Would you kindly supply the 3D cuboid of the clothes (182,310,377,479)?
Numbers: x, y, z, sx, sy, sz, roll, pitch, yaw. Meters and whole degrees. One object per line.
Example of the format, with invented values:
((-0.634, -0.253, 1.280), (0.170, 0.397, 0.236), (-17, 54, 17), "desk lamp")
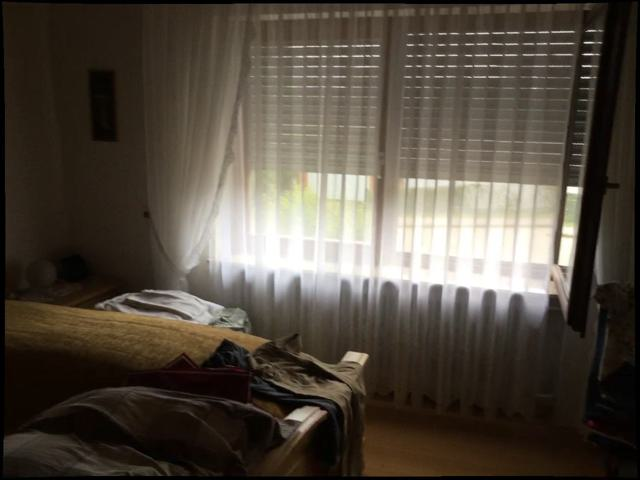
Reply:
((-0.130, 0.701, 2.320), (0.609, 0.641, 0.500), (4, 15, 19), "clothes")

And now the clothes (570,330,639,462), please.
((1.229, 0.571, 2.110), (0.510, 0.250, 0.380), (-13, 19, -40), "clothes")
